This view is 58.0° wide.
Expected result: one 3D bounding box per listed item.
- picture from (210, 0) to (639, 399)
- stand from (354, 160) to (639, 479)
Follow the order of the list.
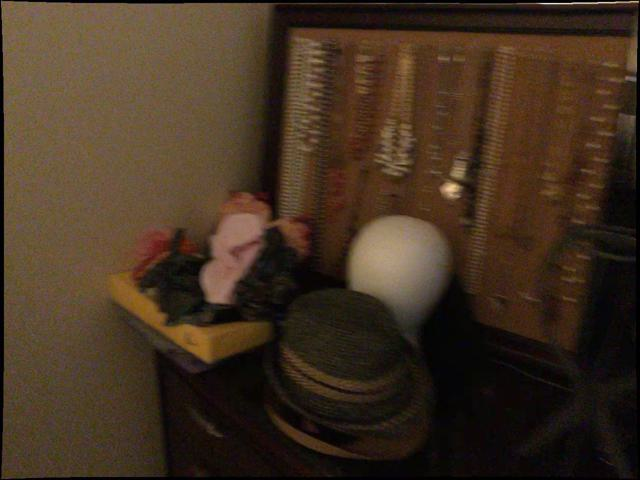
[{"bbox_3d":[0.160,-0.150,1.140,0.839,0.611,0.090,19,15,30],"label":"picture"},{"bbox_3d":[0.269,0.130,0.780,0.350,0.371,0.250,23,31,39],"label":"stand"}]
